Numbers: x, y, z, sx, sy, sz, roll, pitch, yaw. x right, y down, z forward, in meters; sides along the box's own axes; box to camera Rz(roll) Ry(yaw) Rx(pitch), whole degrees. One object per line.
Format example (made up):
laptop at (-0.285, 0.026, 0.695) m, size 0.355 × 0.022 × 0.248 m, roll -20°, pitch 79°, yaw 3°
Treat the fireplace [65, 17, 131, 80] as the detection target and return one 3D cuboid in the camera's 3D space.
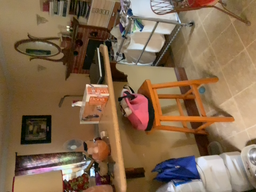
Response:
fireplace at (-0.770, -0.930, 4.750) m, size 1.780 × 1.080 × 0.230 m, roll 128°, pitch 139°, yaw -56°
